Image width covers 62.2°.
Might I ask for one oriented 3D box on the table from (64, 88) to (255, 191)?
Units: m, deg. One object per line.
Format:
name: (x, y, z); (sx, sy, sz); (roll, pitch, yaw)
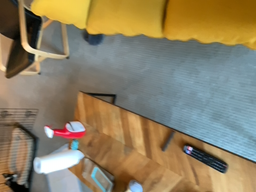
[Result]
table: (0.140, 0.420, 1.370); (1.220, 0.380, 0.630); (21, 102, 39)
